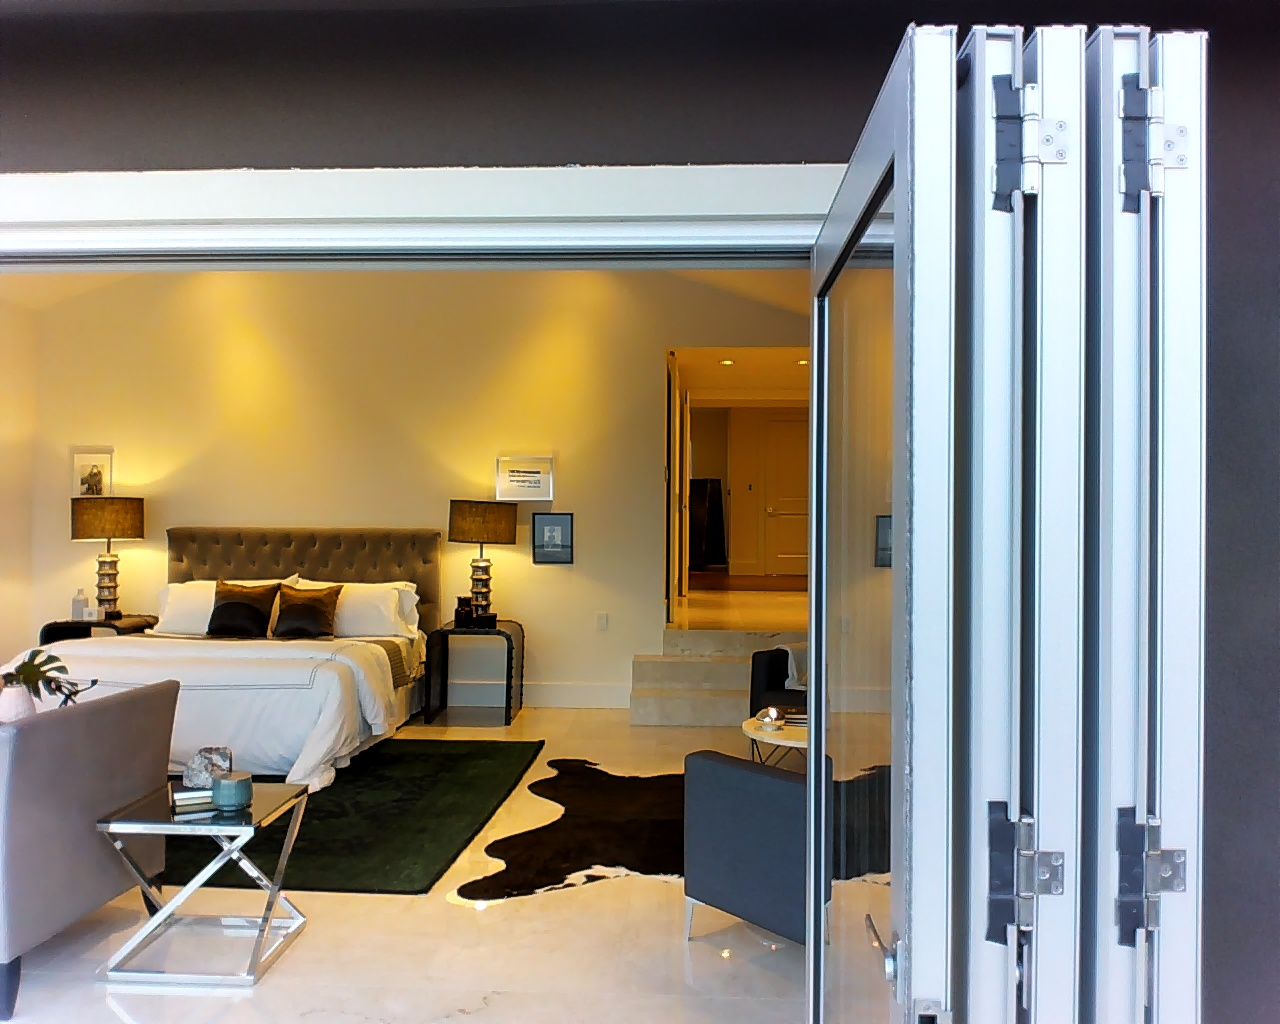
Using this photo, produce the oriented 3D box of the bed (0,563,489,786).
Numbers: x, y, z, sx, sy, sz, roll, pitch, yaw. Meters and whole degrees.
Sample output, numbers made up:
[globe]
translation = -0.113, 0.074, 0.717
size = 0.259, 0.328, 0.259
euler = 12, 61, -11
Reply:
[bed]
translation = -2.500, 0.920, 6.910
size = 2.650, 1.040, 2.290
euler = 0, 1, 2
